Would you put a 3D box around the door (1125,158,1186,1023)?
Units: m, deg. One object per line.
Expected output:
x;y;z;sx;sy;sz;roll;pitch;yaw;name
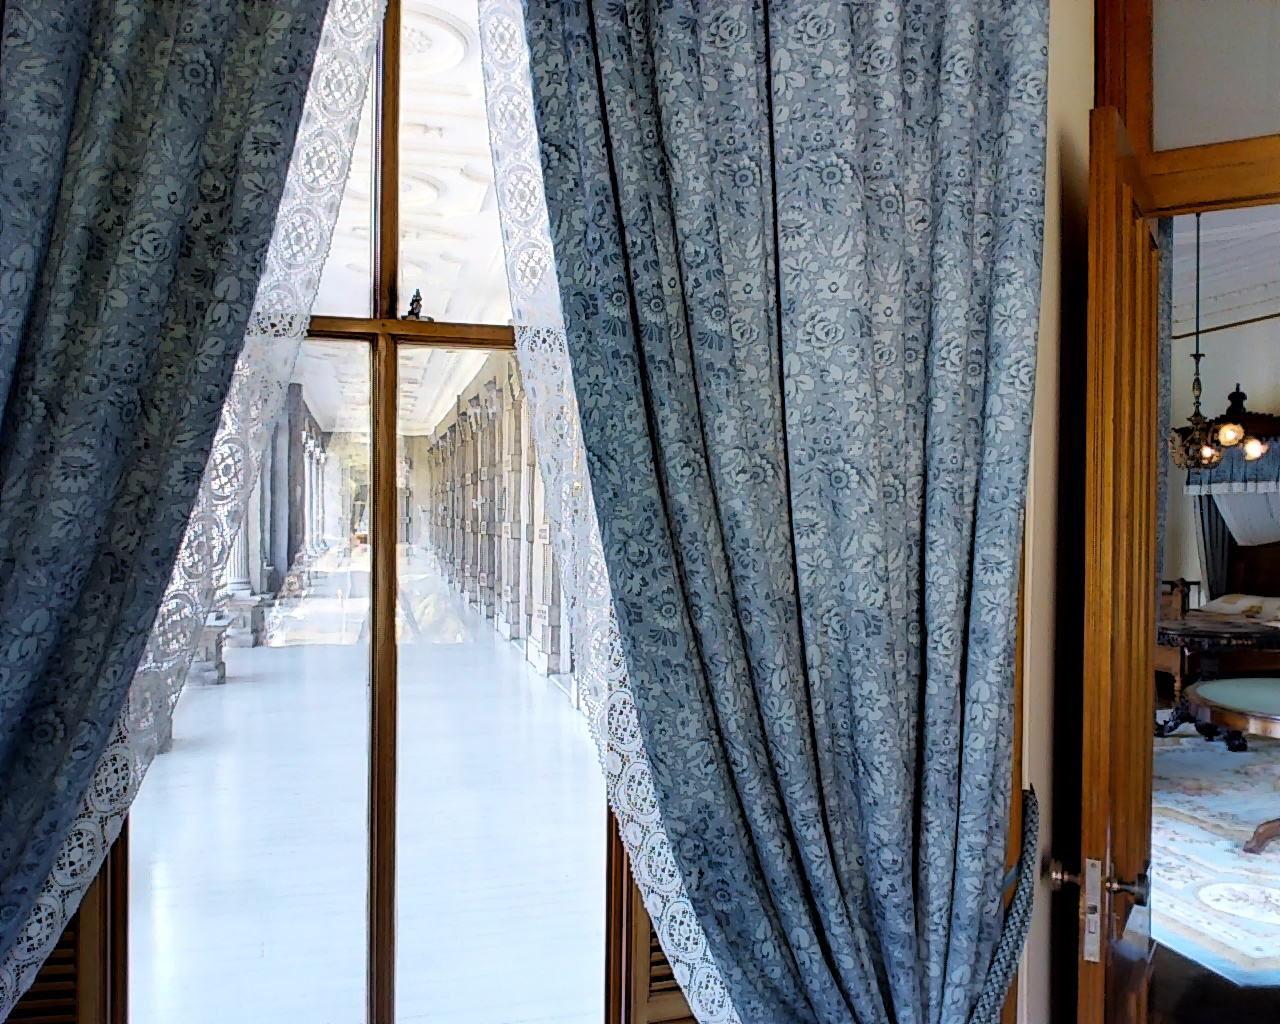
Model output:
1.090;0.430;2.270;0.060;2.220;0.450;0;-1;31;door
